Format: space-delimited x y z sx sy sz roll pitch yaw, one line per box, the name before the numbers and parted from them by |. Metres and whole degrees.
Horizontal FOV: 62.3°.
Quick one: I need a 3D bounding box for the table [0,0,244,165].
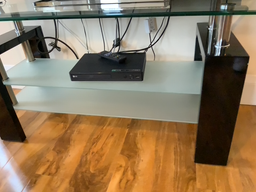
table | -0.090 -0.100 0.890 0.880 0.470 0.410 4 33 14
